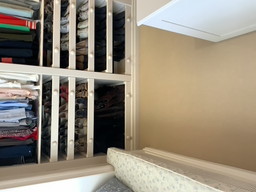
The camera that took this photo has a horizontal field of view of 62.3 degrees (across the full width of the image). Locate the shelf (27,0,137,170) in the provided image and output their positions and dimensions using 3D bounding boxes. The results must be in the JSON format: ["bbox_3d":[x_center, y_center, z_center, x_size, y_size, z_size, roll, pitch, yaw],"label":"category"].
[{"bbox_3d":[-0.550,-0.240,2.660,0.640,1.170,1.970,-7,82,58],"label":"shelf"}]
